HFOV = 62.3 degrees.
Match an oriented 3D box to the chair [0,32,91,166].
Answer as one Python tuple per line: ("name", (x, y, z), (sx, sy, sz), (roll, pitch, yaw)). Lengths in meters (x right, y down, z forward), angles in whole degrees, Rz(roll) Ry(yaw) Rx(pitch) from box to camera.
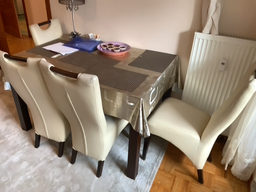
("chair", (-0.670, 0.010, 1.820), (0.430, 0.930, 0.540), (16, 34, 20))

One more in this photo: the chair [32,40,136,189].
("chair", (-0.280, 0.130, 1.650), (0.450, 0.930, 0.540), (16, 34, 20))

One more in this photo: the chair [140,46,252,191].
("chair", (0.500, 0.160, 1.700), (0.600, 0.900, 0.480), (18, 34, 22))
